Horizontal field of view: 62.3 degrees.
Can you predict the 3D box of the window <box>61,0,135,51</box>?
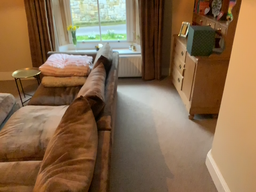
[{"bbox_3d":[-0.500,-1.720,3.620,1.240,1.880,0.230,0,29,2],"label":"window"}]
